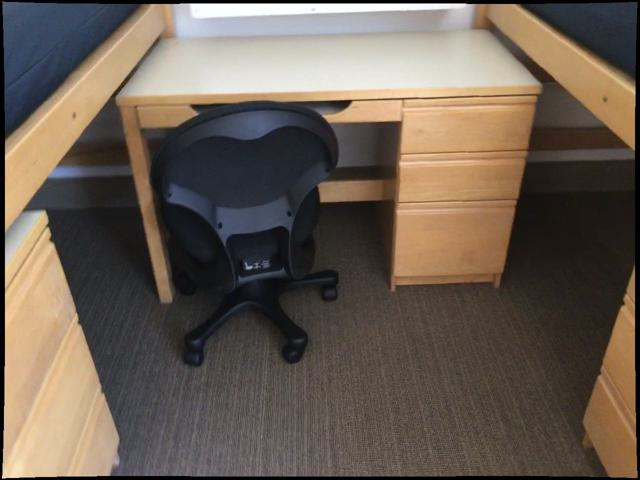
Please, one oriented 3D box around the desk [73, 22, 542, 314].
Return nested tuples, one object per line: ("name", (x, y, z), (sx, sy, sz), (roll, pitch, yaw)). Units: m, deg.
("desk", (-0.030, -0.291, 2.170), (1.337, 0.801, 0.741), (-2, 34, 1))
